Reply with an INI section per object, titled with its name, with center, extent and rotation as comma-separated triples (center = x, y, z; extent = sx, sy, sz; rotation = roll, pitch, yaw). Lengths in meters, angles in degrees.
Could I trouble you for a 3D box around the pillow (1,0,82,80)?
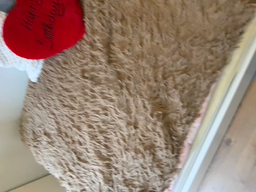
[pillow]
center = -0.380, -0.360, 0.930
extent = 0.300, 0.160, 0.510
rotation = 25, 108, 32
